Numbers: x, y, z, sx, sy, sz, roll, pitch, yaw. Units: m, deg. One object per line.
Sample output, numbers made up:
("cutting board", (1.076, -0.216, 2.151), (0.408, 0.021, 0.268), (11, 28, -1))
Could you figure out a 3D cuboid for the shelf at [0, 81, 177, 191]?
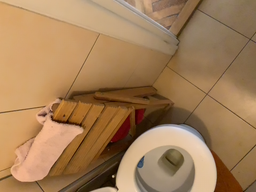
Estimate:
("shelf", (-0.050, 0.110, 0.960), (0.110, 0.930, 0.350), (45, 112, 17))
